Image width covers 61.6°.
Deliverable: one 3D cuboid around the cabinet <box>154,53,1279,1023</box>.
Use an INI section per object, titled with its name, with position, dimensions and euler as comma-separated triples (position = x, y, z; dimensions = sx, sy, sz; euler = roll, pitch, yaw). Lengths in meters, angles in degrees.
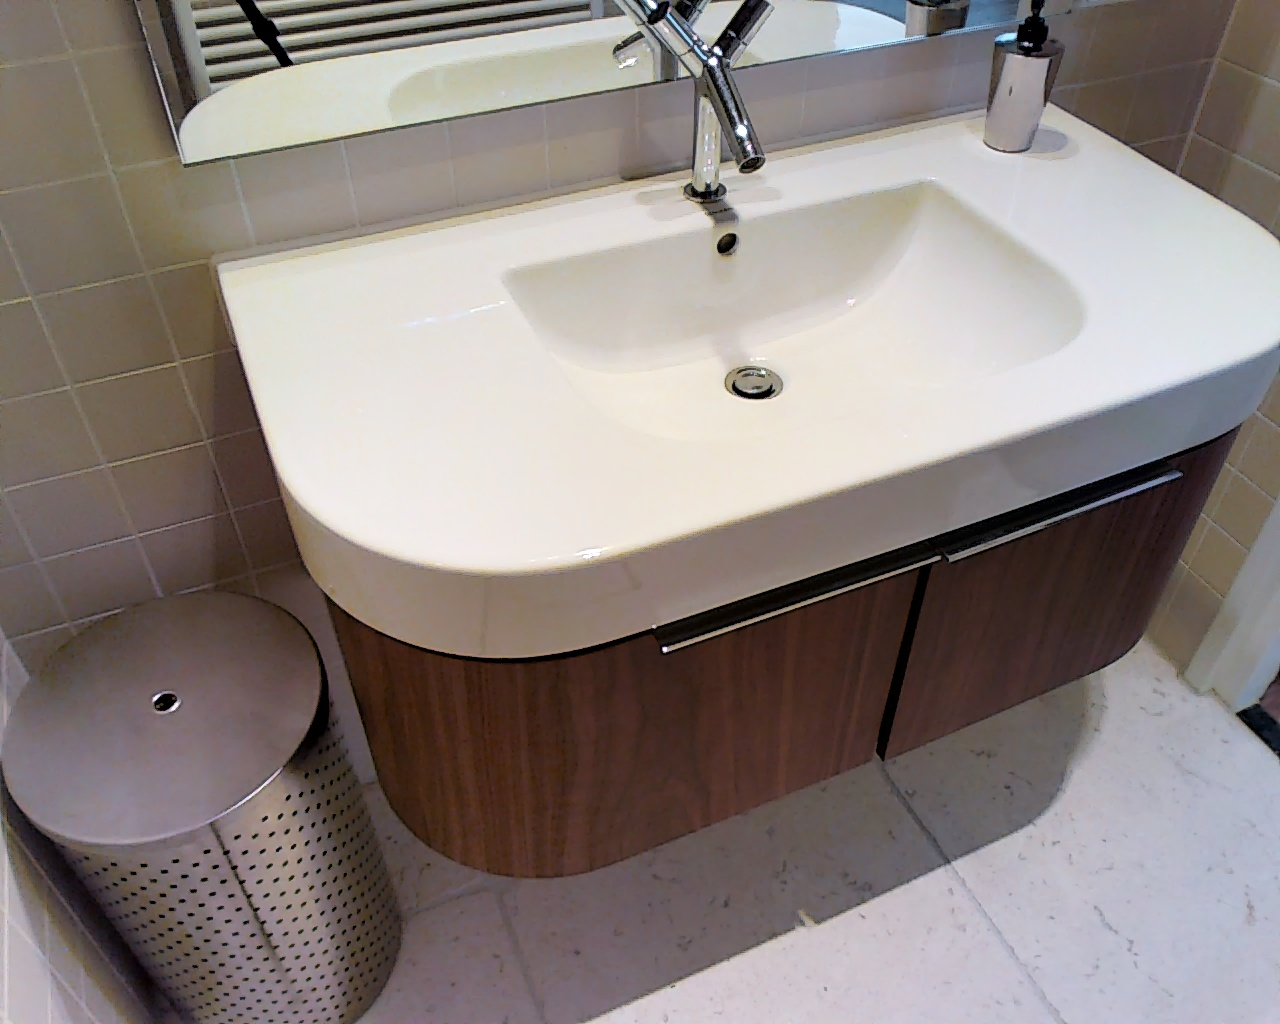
[cabinet]
position = 0.160, -0.040, 1.160
dimensions = 1.090, 0.550, 0.570
euler = -17, 45, -17
